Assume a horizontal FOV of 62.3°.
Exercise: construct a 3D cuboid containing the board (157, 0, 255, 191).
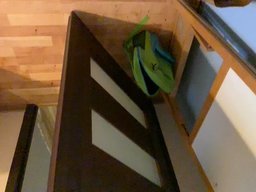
[{"bbox_3d":[0.380,0.070,1.000,0.130,1.230,0.630,-4,135,-7],"label":"board"}]
